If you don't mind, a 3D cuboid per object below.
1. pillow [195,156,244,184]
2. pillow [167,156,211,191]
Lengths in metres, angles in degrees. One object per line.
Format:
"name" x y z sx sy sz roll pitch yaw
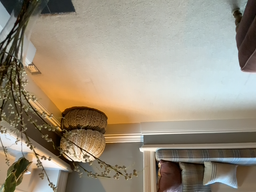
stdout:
"pillow" 0.990 0.820 2.330 0.420 0.230 0.190 7 148 -9
"pillow" 0.680 0.900 2.380 0.430 0.330 0.200 19 144 -26
